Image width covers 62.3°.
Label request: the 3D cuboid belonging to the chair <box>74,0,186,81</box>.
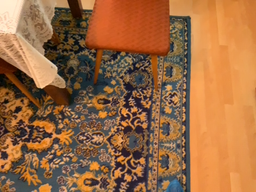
[{"bbox_3d":[0.020,-0.510,1.190,0.430,0.770,0.530,5,69,1],"label":"chair"}]
